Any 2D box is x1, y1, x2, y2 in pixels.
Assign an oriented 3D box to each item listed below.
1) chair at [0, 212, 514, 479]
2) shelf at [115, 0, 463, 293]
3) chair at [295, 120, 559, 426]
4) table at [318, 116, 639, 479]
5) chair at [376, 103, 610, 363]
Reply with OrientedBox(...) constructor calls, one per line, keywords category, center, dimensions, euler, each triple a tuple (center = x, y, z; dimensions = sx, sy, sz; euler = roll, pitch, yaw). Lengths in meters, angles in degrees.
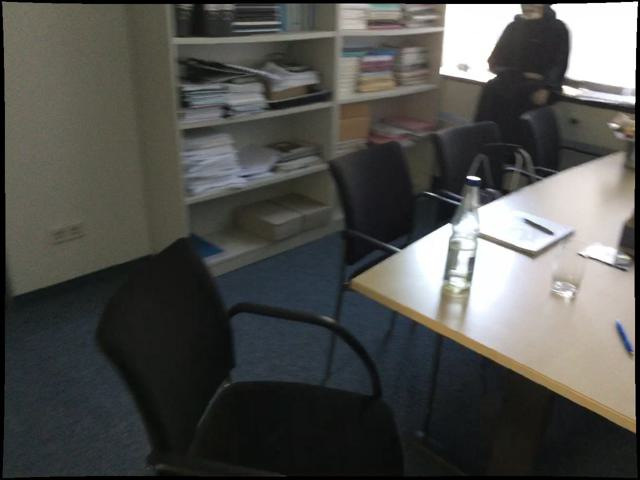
OrientedBox(category="chair", center=(-0.100, 0.460, 1.270), dimensions=(0.769, 0.781, 0.700), euler=(4, 26, 5))
OrientedBox(category="shelf", center=(-0.010, -1.131, 3.020), dimensions=(0.520, 2.212, 1.979), euler=(23, 33, 38))
OrientedBox(category="chair", center=(0.350, 0.060, 2.100), dimensions=(0.650, 0.781, 0.590), euler=(23, 33, 38))
OrientedBox(category="table", center=(1.139, 0.180, 2.130), dimensions=(0.910, 0.721, 2.319), euler=(25, 35, 37))
OrientedBox(category="chair", center=(0.699, -0.080, 2.420), dimensions=(0.580, 0.791, 0.670), euler=(23, 33, 38))
